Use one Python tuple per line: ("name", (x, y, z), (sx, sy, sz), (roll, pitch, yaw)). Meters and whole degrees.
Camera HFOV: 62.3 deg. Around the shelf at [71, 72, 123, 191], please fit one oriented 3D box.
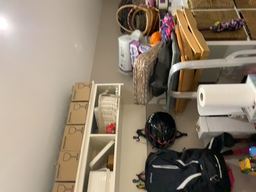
("shelf", (-0.170, 0.410, 1.250), (0.270, 0.200, 1.230), (85, -174, -55))
